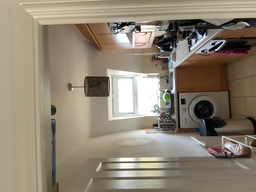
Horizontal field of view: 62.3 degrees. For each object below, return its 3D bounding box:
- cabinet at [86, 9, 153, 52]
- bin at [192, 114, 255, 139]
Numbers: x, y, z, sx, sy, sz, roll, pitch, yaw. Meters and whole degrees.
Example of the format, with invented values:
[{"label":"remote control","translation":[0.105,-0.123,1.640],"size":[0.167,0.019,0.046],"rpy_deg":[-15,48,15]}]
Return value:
[{"label":"cabinet","translation":[-0.100,-0.900,3.060],"size":[0.810,0.840,0.310],"rpy_deg":[61,-152,-87]},{"label":"bin","translation":[1.330,0.420,3.020],"size":[0.450,0.690,0.280],"rpy_deg":[2,-94,-89]}]
